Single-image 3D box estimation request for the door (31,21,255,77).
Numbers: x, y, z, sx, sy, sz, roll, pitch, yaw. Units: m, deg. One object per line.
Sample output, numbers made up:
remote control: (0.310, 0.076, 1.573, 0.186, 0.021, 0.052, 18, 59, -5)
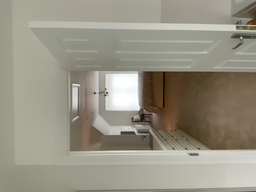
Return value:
door: (0.520, -0.270, 1.510, 0.850, 2.040, 0.040, 107, 164, -80)
